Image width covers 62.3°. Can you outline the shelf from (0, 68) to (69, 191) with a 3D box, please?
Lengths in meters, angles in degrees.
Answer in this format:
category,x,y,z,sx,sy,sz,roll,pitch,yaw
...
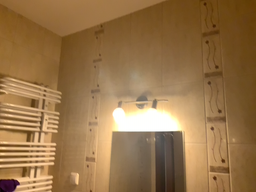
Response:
category,x,y,z,sx,sy,sz,roll,pitch,yaw
shelf,-0.740,0.440,1.500,0.180,1.130,0.560,-6,-15,31
